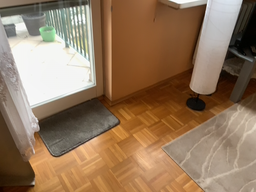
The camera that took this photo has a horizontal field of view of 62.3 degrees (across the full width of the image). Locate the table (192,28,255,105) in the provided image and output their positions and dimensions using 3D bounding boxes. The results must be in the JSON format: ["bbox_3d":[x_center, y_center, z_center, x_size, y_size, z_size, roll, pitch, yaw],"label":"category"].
[{"bbox_3d":[1.210,-0.360,2.280,0.800,0.450,0.520,-23,45,-29],"label":"table"}]
